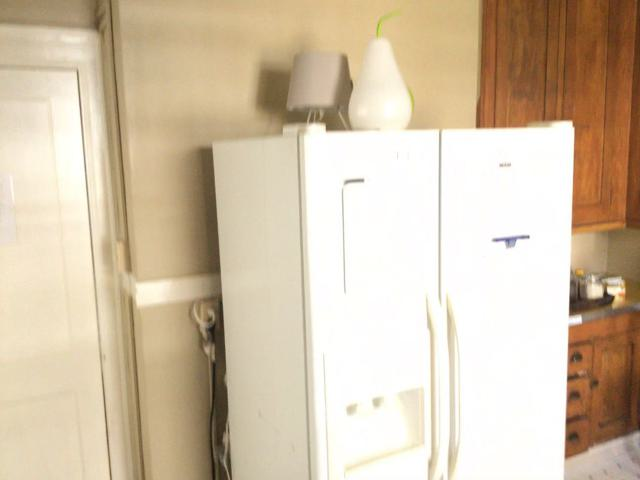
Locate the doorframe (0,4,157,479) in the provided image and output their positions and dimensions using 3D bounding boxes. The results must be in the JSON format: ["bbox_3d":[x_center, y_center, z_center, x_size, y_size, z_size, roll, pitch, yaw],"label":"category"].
[{"bbox_3d":[-1.220,0.250,2.190,1.080,2.160,0.210,-4,8,-23],"label":"doorframe"}]
